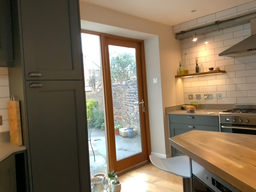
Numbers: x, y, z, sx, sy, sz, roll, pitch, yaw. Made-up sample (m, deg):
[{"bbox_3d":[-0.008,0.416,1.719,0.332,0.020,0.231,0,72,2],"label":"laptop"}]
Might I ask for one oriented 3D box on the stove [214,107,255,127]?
[{"bbox_3d":[1.700,0.260,2.710,0.620,0.170,0.940,-5,2,-44],"label":"stove"}]
